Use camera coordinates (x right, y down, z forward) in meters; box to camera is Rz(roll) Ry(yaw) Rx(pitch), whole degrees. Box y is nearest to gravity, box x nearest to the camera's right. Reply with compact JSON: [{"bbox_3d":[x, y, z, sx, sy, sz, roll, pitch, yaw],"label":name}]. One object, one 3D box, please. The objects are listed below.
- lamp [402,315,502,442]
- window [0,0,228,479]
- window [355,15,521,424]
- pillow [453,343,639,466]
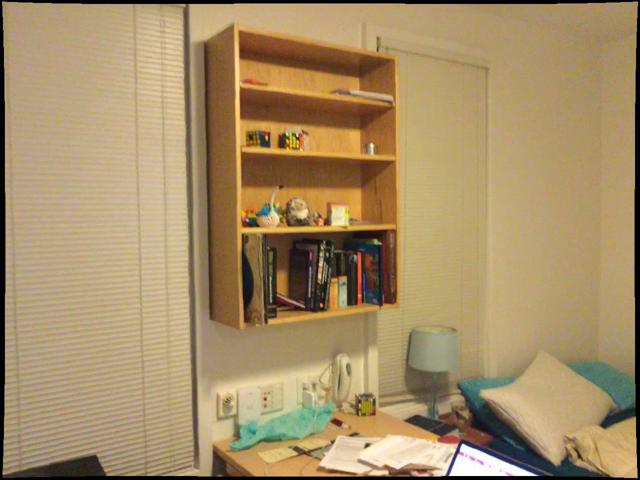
[{"bbox_3d":[0.609,0.621,2.690,0.310,0.460,0.320,-3,6,-35],"label":"lamp"},{"bbox_3d":[-0.779,0.060,1.800,0.919,1.822,0.280,-3,6,-35],"label":"window"},{"bbox_3d":[0.569,-0.090,2.740,0.839,1.702,0.240,-3,6,-35],"label":"window"},{"bbox_3d":[1.179,0.771,2.880,0.899,0.270,0.540,-3,6,-35],"label":"pillow"}]
